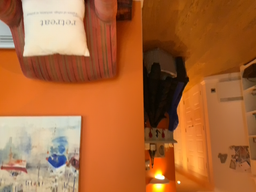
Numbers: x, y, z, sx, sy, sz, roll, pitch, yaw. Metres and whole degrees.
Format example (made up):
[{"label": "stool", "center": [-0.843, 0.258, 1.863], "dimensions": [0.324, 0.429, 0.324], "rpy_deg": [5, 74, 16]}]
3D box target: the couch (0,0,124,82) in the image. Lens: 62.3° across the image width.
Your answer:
[{"label": "couch", "center": [-0.440, -0.620, 1.200], "dimensions": [0.770, 0.870, 0.890], "rpy_deg": [-1, 169, 2]}]
